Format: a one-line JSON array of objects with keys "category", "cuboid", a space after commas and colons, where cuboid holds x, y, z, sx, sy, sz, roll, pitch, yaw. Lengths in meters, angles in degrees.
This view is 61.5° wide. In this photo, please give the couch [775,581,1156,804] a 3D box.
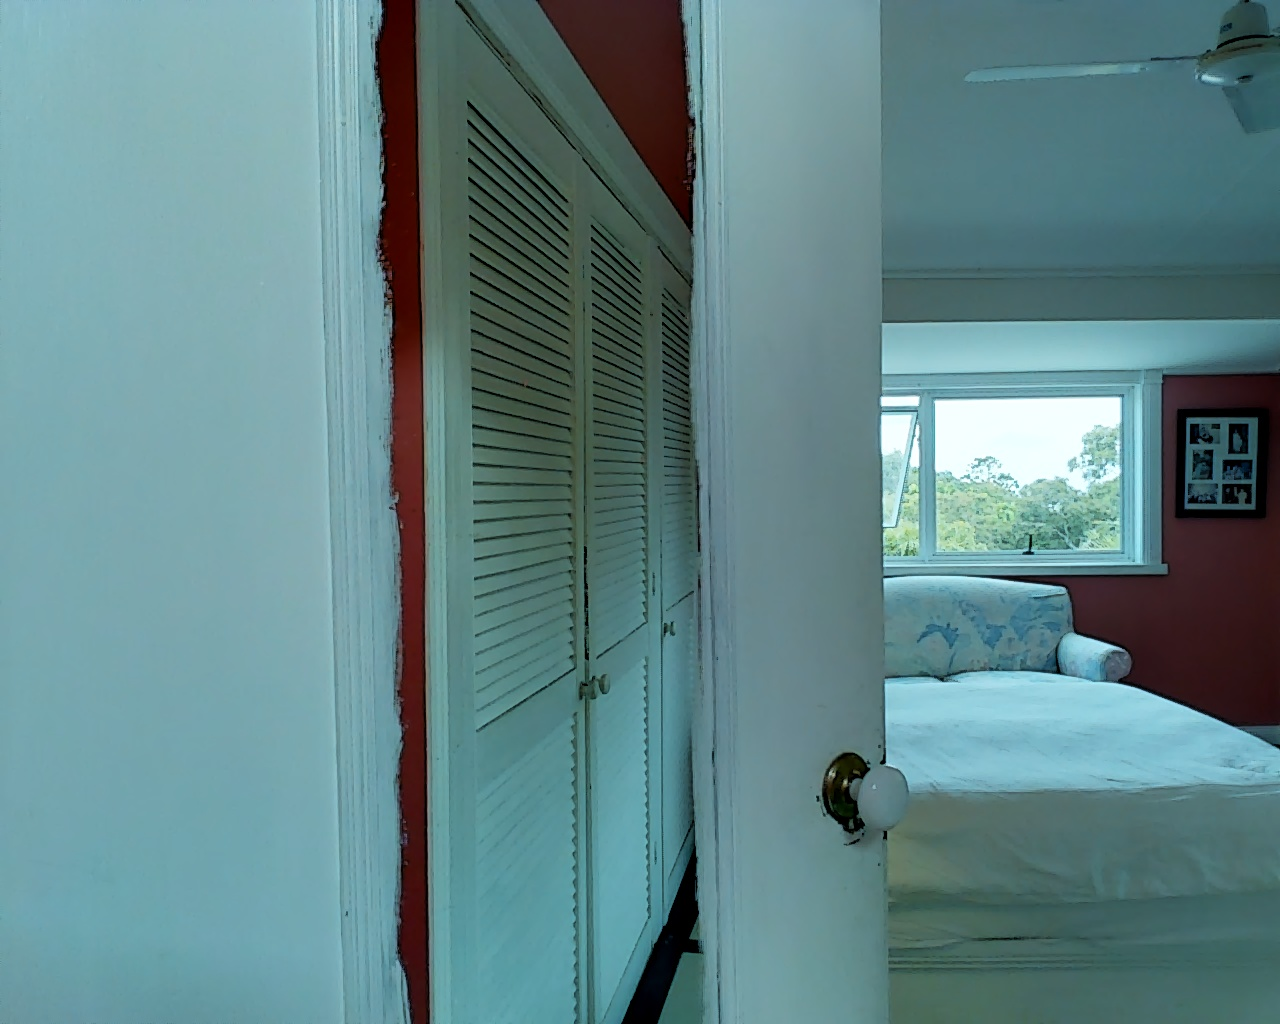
[{"category": "couch", "cuboid": [1.440, 0.800, 5.030, 1.509, 0.850, 0.920, -1, 2, 1]}]

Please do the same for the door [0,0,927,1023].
[{"category": "door", "cuboid": [-0.090, 0.250, 0.780, 0.850, 2.101, 0.090, -2, 2, -39]}]

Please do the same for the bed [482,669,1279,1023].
[{"category": "bed", "cuboid": [0.750, 0.940, 3.130, 2.139, 0.660, 1.640, -1, 2, 1]}]
